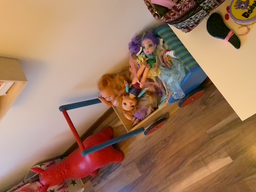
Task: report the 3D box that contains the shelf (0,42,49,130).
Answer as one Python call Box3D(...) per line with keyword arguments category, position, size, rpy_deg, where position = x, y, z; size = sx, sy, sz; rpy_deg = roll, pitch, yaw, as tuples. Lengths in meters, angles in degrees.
Box3D(category="shelf", position=(-0.520, -0.010, 0.690), size=(0.400, 0.330, 0.100), rpy_deg=(-40, 68, 28))

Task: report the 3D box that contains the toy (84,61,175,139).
Box3D(category="toy", position=(0.020, 0.020, 1.220), size=(0.230, 0.380, 0.320), rpy_deg=(-40, 68, 28))

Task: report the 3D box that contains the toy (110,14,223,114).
Box3D(category="toy", position=(0.210, -0.130, 1.080), size=(0.310, 0.430, 0.300), rpy_deg=(-39, 69, 29))

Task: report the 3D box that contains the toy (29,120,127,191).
Box3D(category="toy", position=(-0.350, 0.430, 1.490), size=(0.470, 0.410, 0.280), rpy_deg=(-39, 69, 29))
